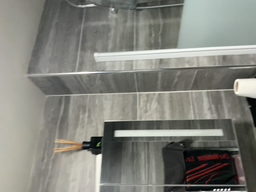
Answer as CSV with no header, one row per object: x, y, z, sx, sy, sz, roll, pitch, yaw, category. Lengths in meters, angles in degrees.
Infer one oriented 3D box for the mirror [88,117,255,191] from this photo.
0.210,0.570,0.940,0.040,0.810,0.980,77,-167,-63,mirror
